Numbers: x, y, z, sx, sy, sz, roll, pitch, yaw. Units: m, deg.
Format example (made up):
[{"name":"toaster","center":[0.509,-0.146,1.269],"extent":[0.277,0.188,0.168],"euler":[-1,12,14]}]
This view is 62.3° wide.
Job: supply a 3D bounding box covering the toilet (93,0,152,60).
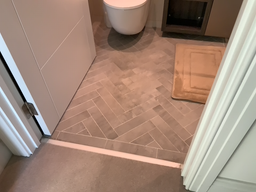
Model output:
[{"name":"toilet","center":[-0.020,-0.660,1.840],"extent":[0.380,0.430,0.500],"euler":[8,48,8]}]
